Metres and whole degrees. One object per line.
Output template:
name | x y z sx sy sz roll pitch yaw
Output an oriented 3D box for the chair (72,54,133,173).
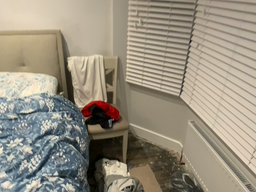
chair | -0.270 0.140 2.060 0.450 0.940 0.620 -4 28 -12
